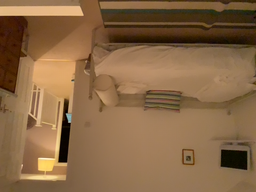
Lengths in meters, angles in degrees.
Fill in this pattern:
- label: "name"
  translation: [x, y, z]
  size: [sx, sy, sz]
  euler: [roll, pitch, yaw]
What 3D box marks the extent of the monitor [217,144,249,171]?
- label: "monitor"
  translation: [1.540, 0.890, 3.130]
  size: [0.040, 0.350, 0.420]
  euler: [12, 164, -40]
